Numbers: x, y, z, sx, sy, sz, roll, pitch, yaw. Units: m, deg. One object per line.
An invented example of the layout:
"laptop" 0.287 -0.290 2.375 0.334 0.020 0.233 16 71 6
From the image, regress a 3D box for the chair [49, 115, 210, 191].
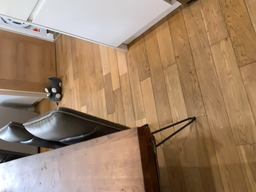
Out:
"chair" 0.040 0.440 1.150 0.390 0.770 0.580 -24 68 45
